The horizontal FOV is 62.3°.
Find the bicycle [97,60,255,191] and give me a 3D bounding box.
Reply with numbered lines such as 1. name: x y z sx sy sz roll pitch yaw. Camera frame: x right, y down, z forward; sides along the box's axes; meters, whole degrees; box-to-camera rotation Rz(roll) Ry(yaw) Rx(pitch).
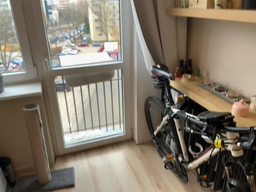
1. bicycle: 0.360 0.410 1.680 0.860 1.030 1.210 -10 26 -20
